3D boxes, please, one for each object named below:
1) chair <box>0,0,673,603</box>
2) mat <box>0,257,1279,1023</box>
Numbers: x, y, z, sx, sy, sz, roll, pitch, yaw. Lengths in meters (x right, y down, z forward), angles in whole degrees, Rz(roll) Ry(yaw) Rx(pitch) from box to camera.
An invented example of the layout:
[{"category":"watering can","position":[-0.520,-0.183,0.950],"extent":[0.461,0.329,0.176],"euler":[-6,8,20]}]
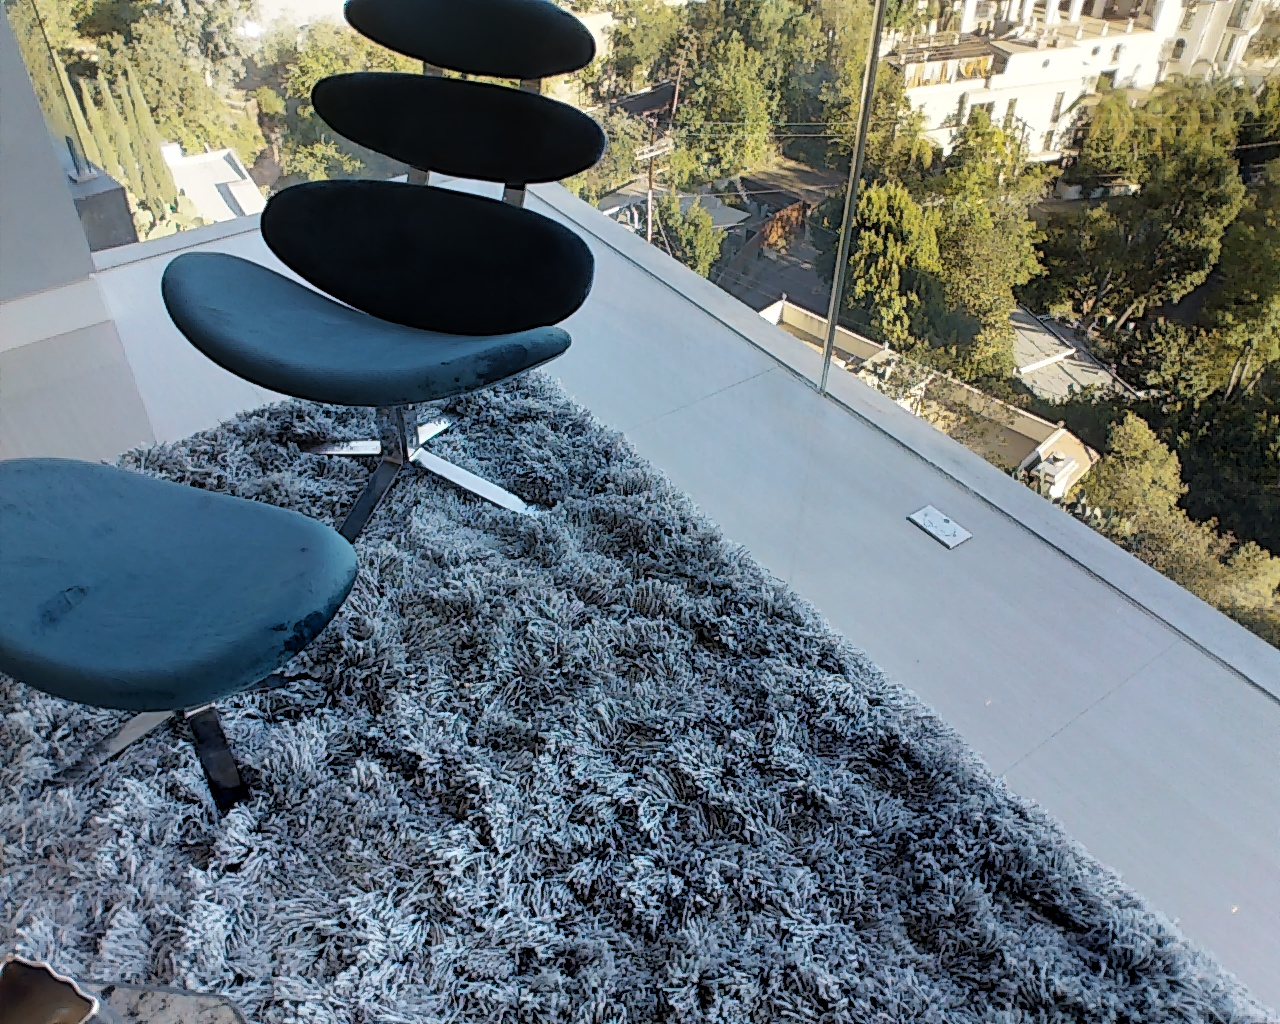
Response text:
[{"category":"chair","position":[-0.470,-0.530,2.250],"extent":[0.920,0.930,0.940],"euler":[7,42,7]},{"category":"mat","position":[-1.220,1.080,1.070],"extent":[4.350,0.130,3.280],"euler":[-26,49,-27]}]
